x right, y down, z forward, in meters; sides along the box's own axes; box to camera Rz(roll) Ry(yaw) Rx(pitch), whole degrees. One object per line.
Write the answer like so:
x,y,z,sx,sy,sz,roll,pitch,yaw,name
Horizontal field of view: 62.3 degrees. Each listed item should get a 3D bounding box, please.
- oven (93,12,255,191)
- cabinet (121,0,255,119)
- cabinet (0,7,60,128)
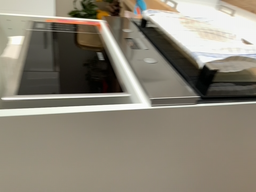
0.210,0.060,0.910,0.590,0.610,0.610,-114,28,-51,oven
0.520,-0.360,1.610,0.820,0.910,0.620,-114,28,-51,cabinet
-0.830,-0.220,1.240,0.780,0.810,0.400,-114,28,-51,cabinet
